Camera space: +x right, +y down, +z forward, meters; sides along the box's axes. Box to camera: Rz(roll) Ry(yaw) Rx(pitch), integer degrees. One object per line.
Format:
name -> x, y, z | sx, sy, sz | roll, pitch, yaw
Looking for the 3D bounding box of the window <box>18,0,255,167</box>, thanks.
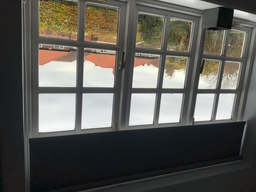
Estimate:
window -> 0.210, -0.110, 1.570 | 1.810, 1.010, 0.200 | 0, -169, -25
